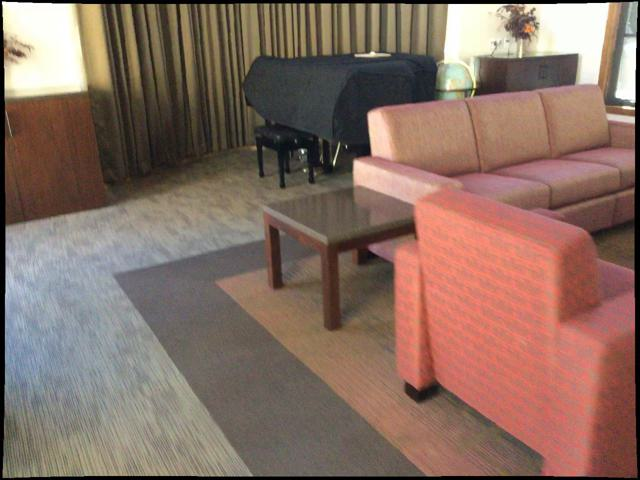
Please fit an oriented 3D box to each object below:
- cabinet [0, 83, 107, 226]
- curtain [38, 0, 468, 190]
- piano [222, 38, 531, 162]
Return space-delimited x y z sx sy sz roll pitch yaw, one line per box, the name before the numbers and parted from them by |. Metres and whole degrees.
cabinet | -2.438 -0.631 4.320 1.359 0.881 0.700 -14 24 -26
curtain | -0.420 -1.942 5.990 4.287 1.942 0.900 -14 24 -26
piano | 0.480 -1.421 5.390 2.238 0.741 1.680 -14 24 -26
